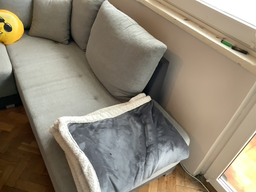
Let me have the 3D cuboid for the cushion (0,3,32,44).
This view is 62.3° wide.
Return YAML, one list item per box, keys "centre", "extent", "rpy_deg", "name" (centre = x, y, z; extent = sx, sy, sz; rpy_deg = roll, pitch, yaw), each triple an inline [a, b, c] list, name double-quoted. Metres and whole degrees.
- centre: [-1.050, -0.620, 1.810]
  extent: [0.350, 0.220, 0.300]
  rpy_deg: [-14, 47, -27]
  name: "cushion"
